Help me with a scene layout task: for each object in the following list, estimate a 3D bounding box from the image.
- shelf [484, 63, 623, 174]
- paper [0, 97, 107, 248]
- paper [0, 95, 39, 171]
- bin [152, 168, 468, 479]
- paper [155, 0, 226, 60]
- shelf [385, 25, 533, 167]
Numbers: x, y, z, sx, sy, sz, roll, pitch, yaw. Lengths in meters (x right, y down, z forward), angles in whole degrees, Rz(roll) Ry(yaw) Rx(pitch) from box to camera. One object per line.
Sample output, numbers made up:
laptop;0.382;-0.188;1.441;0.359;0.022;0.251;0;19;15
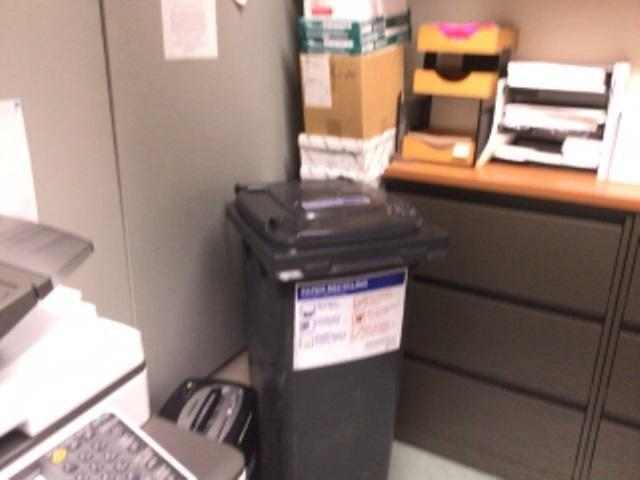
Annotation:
shelf;0.760;-0.410;1.880;0.340;0.310;0.300;11;20;29
paper;-0.570;-0.150;1.220;0.040;0.280;0.230;11;20;29
paper;-0.630;-0.210;1.140;0.020;0.140;0.130;11;20;29
bin;-0.010;0.400;1.630;0.610;1.070;0.540;11;20;29
paper;-0.340;-0.570;1.540;0.030;0.170;0.230;11;20;29
shelf;0.470;-0.500;1.970;0.380;0.420;0.320;11;20;29
